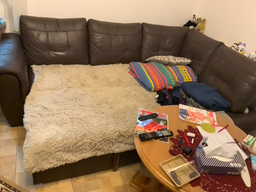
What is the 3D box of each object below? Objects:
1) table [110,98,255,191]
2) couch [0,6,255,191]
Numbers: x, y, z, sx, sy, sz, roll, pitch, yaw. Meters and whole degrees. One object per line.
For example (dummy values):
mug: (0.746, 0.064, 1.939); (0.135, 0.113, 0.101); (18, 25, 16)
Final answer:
table: (0.430, 0.530, 1.520); (0.820, 0.630, 0.800); (-5, 35, -25)
couch: (0.010, -0.180, 2.290); (2.550, 0.930, 1.650); (-4, 34, -24)
